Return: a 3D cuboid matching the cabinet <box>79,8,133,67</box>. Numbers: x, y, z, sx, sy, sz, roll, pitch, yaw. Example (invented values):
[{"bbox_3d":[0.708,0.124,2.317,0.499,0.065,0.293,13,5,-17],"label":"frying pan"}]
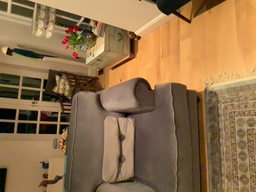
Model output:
[{"bbox_3d":[-0.340,-0.800,3.090,0.790,0.480,0.470,-17,70,57],"label":"cabinet"}]
